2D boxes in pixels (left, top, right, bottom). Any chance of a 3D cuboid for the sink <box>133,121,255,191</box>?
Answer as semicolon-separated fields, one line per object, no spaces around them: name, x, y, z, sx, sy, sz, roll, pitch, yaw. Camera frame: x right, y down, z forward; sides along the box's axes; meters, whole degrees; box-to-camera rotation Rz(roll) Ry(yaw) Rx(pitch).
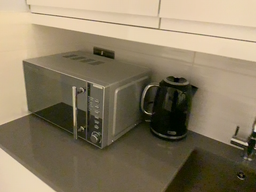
sink;0.340;0.360;0.800;0.520;0.240;0.380;18;26;28

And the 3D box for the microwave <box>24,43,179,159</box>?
microwave;-0.120;-0.040;0.980;0.550;0.280;0.390;19;27;29
